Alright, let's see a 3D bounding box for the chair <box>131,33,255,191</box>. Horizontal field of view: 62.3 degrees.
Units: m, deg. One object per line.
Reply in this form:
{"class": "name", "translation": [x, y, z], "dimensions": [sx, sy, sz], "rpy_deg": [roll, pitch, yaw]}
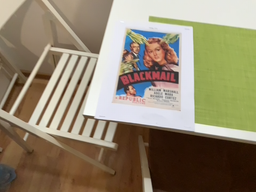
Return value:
{"class": "chair", "translation": [0.260, 0.270, 0.740], "dimensions": [0.460, 0.770, 0.520], "rpy_deg": [5, 62, 1]}

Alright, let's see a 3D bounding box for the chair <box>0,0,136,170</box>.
{"class": "chair", "translation": [-0.240, -0.030, 0.880], "dimensions": [0.450, 0.770, 0.460], "rpy_deg": [9, 63, 3]}
